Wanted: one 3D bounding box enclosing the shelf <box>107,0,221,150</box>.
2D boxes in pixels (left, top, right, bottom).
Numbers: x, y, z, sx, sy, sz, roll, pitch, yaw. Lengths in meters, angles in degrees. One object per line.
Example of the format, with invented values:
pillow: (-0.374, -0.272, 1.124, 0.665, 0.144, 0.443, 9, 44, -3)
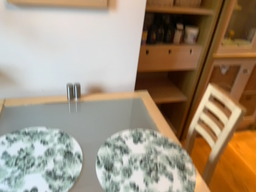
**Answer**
shelf: (0.230, -0.540, 1.520, 0.580, 2.080, 0.430, -4, 34, -17)
